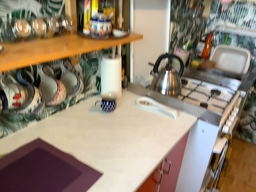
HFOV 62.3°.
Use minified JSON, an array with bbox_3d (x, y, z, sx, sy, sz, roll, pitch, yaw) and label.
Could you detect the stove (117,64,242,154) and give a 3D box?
[{"bbox_3d":[0.350,0.020,1.450,0.640,0.230,0.550,21,30,30],"label":"stove"}]
